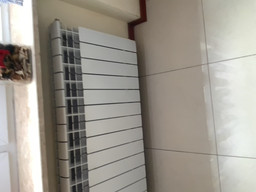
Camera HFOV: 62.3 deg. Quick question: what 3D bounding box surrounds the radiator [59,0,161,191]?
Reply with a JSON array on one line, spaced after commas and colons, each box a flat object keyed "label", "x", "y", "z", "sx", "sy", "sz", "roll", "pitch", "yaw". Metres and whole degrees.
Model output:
[{"label": "radiator", "x": -0.070, "y": 0.180, "z": 1.260, "sx": 0.230, "sy": 0.600, "sz": 1.240, "roll": 1, "pitch": 92, "yaw": 42}]
